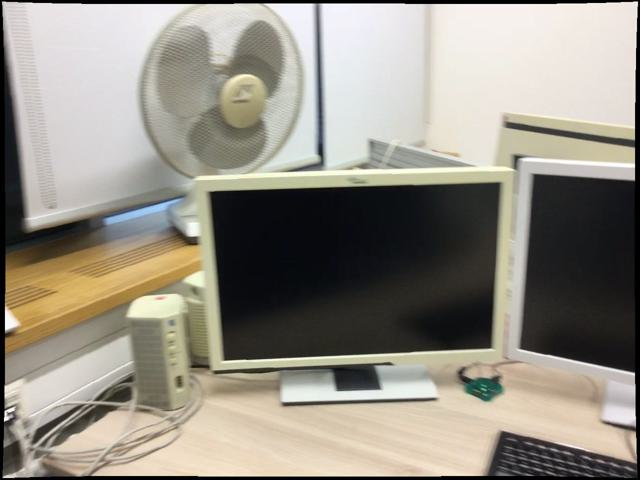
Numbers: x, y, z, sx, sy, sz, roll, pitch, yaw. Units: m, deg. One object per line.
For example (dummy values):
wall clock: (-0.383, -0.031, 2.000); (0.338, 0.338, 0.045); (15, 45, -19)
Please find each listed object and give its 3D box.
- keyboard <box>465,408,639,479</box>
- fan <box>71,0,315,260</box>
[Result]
keyboard: (0.470, 0.370, 0.820); (0.480, 0.020, 0.220); (9, 21, 30)
fan: (-0.280, -0.300, 1.440); (0.350, 0.550, 0.420); (9, 21, 30)
